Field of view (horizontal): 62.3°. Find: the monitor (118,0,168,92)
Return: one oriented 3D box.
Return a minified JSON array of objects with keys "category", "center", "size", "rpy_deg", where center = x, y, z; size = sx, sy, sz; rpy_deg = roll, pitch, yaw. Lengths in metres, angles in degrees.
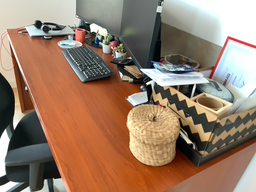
[{"category":"monitor","center":[0.040,-0.330,1.080],"size":[0.040,0.410,0.510],"rpy_deg":[-3,33,-16]}]

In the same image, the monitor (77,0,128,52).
[{"category":"monitor","center":[-0.200,-0.590,1.450],"size":[0.040,0.420,0.520],"rpy_deg":[-20,41,-37]}]
